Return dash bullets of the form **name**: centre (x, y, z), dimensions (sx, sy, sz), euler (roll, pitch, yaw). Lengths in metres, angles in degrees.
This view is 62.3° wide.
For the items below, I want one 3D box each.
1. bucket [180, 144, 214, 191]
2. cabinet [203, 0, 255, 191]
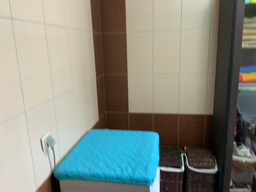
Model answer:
- **bucket**: centre (0.650, 0.800, 2.070), dimensions (0.260, 0.510, 0.410), euler (1, 13, 12)
- **cabinet**: centre (1.130, 0.030, 1.780), dimensions (0.790, 2.020, 0.470), euler (0, 13, 10)
